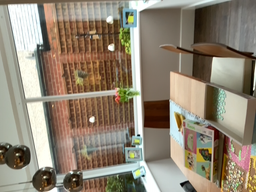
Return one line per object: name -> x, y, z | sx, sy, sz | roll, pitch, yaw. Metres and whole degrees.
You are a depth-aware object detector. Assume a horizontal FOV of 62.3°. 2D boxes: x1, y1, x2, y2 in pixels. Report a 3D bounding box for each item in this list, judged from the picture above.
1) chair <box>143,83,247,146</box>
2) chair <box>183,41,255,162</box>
chair -> 0.700, 0.170, 2.360 | 0.510, 0.940, 0.420 | -126, 31, -69
chair -> 0.890, -0.050, 1.270 | 0.510, 0.950, 0.520 | -128, 34, -70
